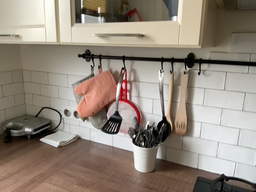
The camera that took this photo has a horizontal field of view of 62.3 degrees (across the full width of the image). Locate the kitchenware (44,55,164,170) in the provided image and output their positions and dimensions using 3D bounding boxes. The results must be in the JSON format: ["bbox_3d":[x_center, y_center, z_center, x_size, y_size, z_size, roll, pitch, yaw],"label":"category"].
[{"bbox_3d":[-0.140,0.050,1.100,0.590,0.480,0.160,8,15,24],"label":"kitchenware"}]
